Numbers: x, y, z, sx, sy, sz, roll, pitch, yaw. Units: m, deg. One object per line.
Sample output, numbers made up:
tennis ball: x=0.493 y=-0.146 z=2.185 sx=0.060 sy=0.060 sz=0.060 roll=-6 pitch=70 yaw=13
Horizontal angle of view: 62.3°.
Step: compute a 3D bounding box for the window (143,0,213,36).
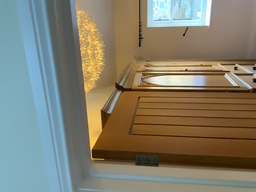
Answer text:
window: x=0.880 y=-1.740 z=3.870 sx=0.530 sy=1.170 sz=1.200 roll=-69 pitch=-21 yaw=-70
